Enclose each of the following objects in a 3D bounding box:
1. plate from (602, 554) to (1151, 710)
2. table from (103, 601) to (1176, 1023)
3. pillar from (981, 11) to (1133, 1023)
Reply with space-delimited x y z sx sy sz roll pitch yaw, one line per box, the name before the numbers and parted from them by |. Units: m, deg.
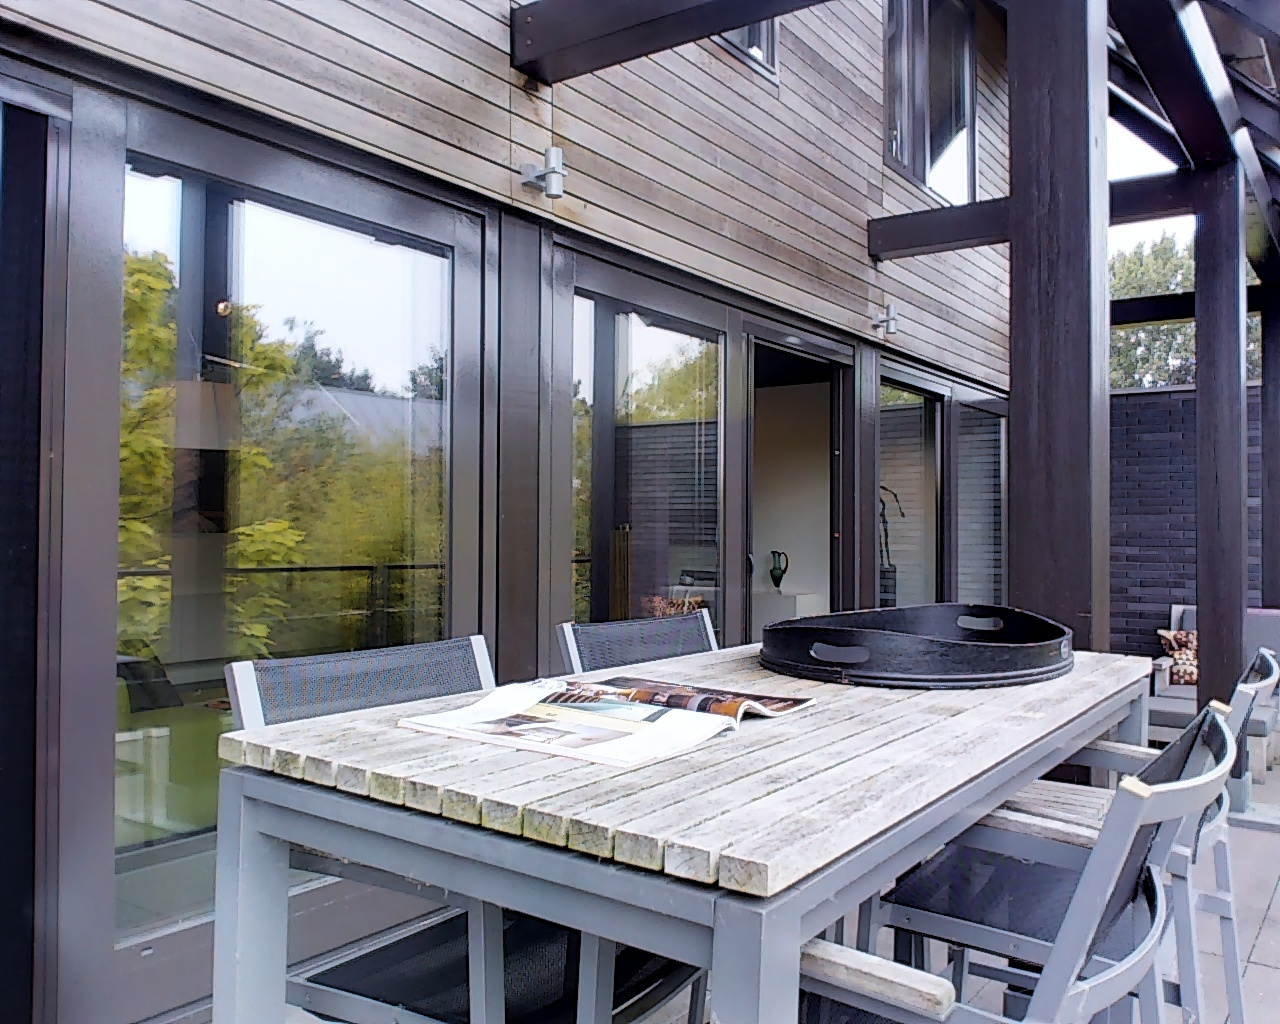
plate | 0.440 0.170 1.860 0.660 0.170 0.790 0 -1 37
table | 0.210 0.760 1.550 0.760 1.150 1.600 0 -1 35
pillar | 1.060 0.070 2.720 0.270 2.490 0.320 0 -1 35
